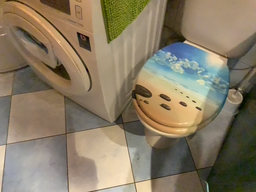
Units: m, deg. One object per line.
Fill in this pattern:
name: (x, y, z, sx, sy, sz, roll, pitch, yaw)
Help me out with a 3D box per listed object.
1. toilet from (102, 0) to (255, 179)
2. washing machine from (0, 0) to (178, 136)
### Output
toilet: (0.280, -0.110, 0.970, 0.380, 0.780, 0.690, 30, 63, 16)
washing machine: (-0.210, -0.400, 1.110, 0.670, 0.830, 0.710, 30, 63, 16)
